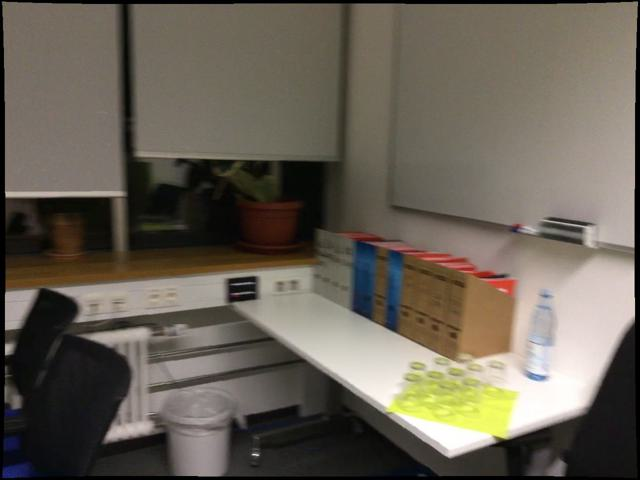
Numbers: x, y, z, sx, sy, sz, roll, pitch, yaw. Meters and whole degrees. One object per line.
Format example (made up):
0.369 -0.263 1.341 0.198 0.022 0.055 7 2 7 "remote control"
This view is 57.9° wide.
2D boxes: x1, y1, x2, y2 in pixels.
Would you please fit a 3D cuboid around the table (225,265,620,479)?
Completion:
0.230 0.671 2.230 0.680 0.781 1.410 -5 14 -32 "table"
